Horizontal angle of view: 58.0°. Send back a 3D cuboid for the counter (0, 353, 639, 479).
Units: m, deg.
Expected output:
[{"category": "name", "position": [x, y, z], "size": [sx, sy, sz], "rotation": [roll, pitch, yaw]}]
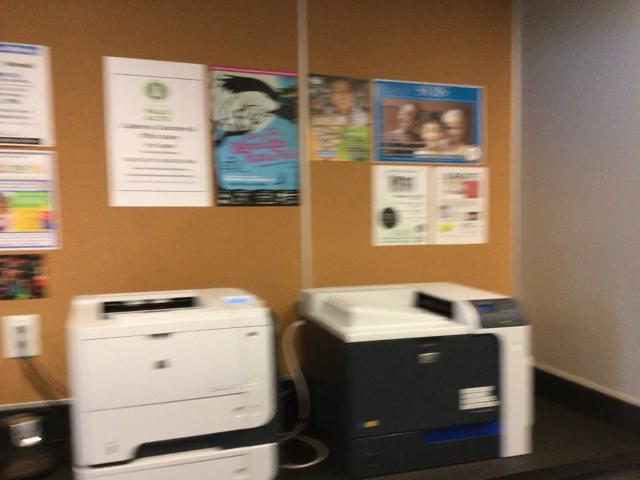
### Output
[{"category": "counter", "position": [-0.460, 0.560, 1.430], "size": [2.760, 0.240, 0.630], "rotation": [-1, 0, -19]}]
